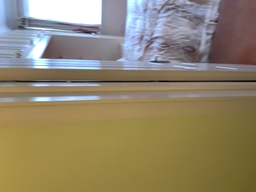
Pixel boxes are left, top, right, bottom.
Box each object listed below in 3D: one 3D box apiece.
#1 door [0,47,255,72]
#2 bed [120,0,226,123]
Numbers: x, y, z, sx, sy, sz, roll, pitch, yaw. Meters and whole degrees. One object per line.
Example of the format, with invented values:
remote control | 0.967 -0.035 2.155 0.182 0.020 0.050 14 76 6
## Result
door | 0.160 -0.170 1.050 0.780 2.010 0.050 -149 60 -71
bed | 0.420 -0.980 2.740 1.680 0.540 2.090 -131 42 -65
